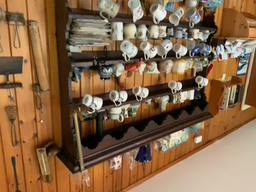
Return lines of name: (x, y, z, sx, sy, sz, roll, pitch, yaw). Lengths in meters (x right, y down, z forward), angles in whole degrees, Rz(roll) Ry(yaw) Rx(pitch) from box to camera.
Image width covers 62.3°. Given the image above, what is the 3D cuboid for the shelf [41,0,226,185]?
shelf: (0.160, -0.240, 1.530, 1.390, 1.190, 0.310, -12, -158, -41)
